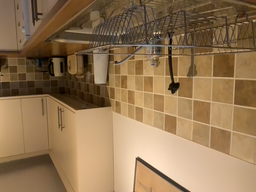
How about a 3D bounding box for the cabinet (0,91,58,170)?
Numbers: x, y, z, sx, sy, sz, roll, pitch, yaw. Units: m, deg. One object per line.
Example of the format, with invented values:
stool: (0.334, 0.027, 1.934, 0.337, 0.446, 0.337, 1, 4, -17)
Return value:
cabinet: (-1.440, 0.400, 2.520, 1.090, 0.840, 0.300, -5, -171, -30)
